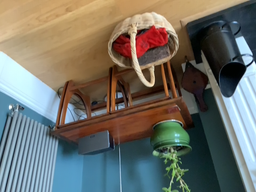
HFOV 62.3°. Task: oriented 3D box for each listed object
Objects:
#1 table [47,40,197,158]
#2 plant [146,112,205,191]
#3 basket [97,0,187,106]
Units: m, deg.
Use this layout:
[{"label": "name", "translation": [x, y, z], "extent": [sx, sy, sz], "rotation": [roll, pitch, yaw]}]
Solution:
[{"label": "table", "translation": [-0.020, 0.100, 1.820], "extent": [0.990, 0.510, 0.690], "rotation": [-16, 145, 17]}, {"label": "plant", "translation": [0.330, 0.430, 1.480], "extent": [0.260, 0.500, 0.330], "rotation": [-16, 145, 17]}, {"label": "basket", "translation": [0.080, -0.260, 1.310], "extent": [0.420, 0.450, 0.340], "rotation": [-15, 146, 15]}]
